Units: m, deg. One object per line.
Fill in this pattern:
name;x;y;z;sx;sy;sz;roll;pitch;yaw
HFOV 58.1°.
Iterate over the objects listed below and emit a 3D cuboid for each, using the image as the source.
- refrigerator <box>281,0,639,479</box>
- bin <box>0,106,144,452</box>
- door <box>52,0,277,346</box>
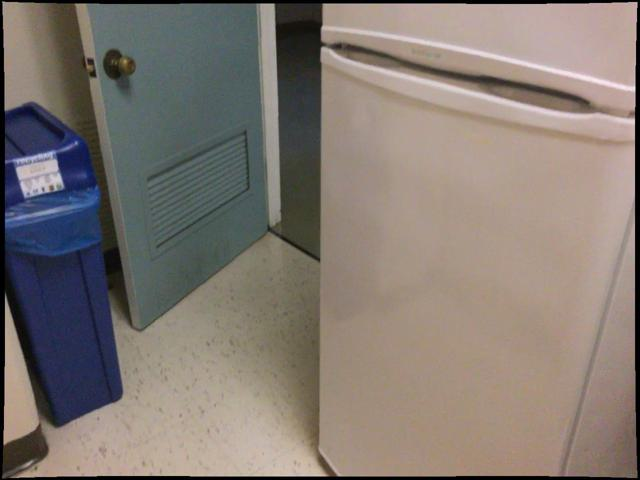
refrigerator;0.429;-0.070;1.230;0.699;1.703;0.729;-22;35;-35
bin;-0.888;0.100;1.810;0.300;0.882;0.580;-22;35;-35
door;-0.499;-0.912;2.000;0.150;2.475;0.960;13;31;23
